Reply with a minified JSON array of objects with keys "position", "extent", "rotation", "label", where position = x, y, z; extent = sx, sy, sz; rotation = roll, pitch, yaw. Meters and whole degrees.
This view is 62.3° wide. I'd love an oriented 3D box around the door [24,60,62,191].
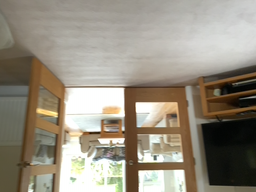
[{"position":[-0.900,0.800,2.260],"extent":[0.100,2.150,0.900],"rotation":[2,163,-9],"label":"door"}]
